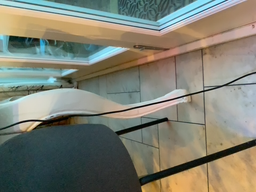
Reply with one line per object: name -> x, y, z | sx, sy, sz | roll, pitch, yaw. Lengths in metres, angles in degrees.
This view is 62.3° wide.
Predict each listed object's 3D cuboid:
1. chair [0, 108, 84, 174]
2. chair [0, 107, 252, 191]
chair -> -0.940, 0.410, 2.200 | 0.520, 0.810, 0.510 | -2, 89, 59
chair -> -0.040, 0.340, 0.740 | 0.500, 0.780, 0.540 | 0, 91, 59
